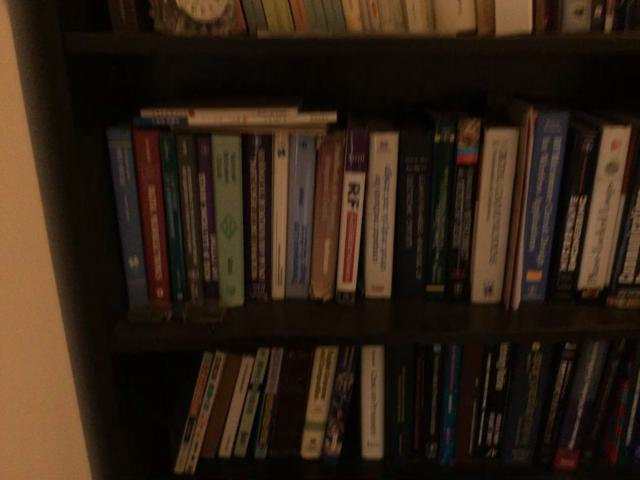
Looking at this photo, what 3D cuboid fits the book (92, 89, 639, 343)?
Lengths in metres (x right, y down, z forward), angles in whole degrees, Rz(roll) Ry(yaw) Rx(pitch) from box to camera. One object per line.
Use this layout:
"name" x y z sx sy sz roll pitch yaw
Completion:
"book" 0.120 -0.050 0.800 0.750 0.270 0.210 -3 18 -3

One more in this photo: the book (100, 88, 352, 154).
"book" -0.110 -0.160 0.750 0.280 0.050 0.200 -3 18 -3
